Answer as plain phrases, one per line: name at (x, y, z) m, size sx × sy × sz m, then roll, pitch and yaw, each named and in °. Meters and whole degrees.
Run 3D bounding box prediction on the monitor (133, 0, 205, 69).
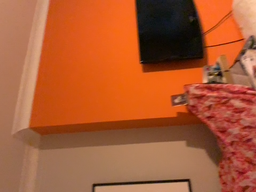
monitor at (0.370, -0.720, 2.150) m, size 0.060 × 0.590 × 0.950 m, roll 79°, pitch -173°, yaw -64°
